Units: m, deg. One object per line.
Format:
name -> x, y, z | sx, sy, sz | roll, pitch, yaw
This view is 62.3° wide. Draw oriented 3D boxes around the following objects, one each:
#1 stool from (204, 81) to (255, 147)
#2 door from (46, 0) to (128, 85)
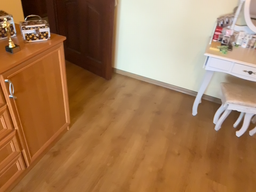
stool -> 0.990, 0.160, 1.920 | 0.430, 0.430, 0.300 | 10, 36, 5
door -> -0.460, -1.250, 2.160 | 1.020, 2.190, 0.190 | 26, 40, 24
